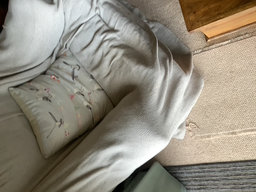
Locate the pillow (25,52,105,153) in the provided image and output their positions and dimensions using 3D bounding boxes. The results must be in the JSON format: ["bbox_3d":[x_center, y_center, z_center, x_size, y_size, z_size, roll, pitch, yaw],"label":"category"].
[{"bbox_3d":[-0.330,0.030,1.100,0.130,0.390,0.390,-36,40,-3],"label":"pillow"}]

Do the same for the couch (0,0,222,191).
[{"bbox_3d":[-0.360,-0.030,1.070,1.110,0.830,1.000,47,114,13],"label":"couch"}]
